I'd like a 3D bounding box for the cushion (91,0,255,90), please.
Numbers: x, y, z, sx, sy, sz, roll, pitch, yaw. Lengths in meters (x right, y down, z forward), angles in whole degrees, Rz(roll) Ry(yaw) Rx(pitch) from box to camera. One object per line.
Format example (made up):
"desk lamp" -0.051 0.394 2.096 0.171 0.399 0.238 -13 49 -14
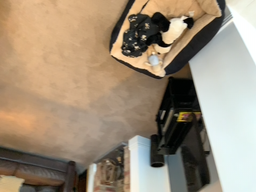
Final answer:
"cushion" 0.250 -0.500 1.500 0.620 0.200 1.040 21 138 -26
